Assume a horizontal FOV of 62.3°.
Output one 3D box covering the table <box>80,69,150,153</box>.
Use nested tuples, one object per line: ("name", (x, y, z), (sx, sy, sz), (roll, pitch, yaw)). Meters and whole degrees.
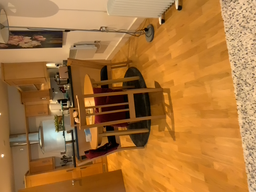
("table", (-0.280, 0.230, 3.380), (1.100, 0.750, 1.050), (163, 101, -71))
